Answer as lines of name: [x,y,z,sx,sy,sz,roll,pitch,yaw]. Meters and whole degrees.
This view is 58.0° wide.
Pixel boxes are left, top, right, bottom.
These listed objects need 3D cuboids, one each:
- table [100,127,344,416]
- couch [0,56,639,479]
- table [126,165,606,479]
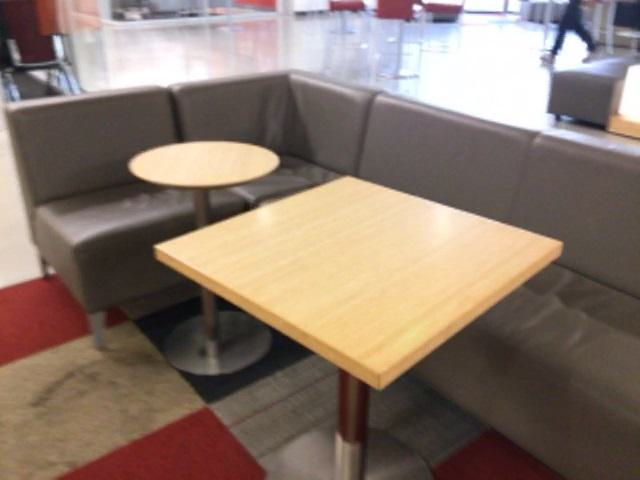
table: [-0.330,0.050,2.000,0.540,0.750,0.560,-18,23,-31]
couch: [0.050,0.030,1.880,1.450,1.040,2.290,-18,23,-31]
table: [0.120,0.320,1.350,0.730,0.780,0.700,-22,25,-37]
